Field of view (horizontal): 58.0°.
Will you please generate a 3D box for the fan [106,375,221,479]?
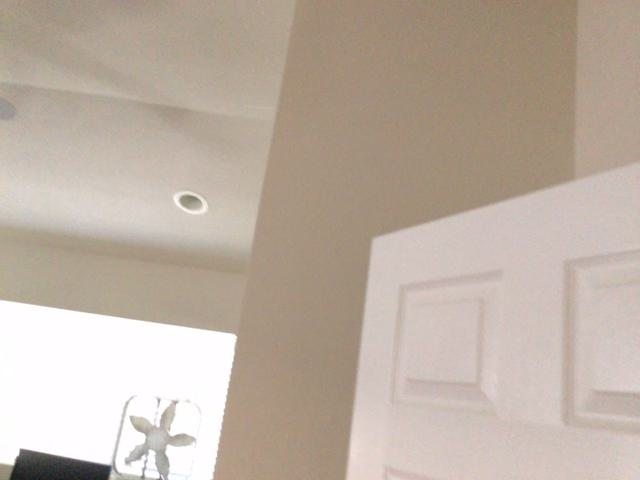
[{"bbox_3d":[-0.990,1.200,3.730,0.550,0.540,0.270,10,-17,1],"label":"fan"}]
